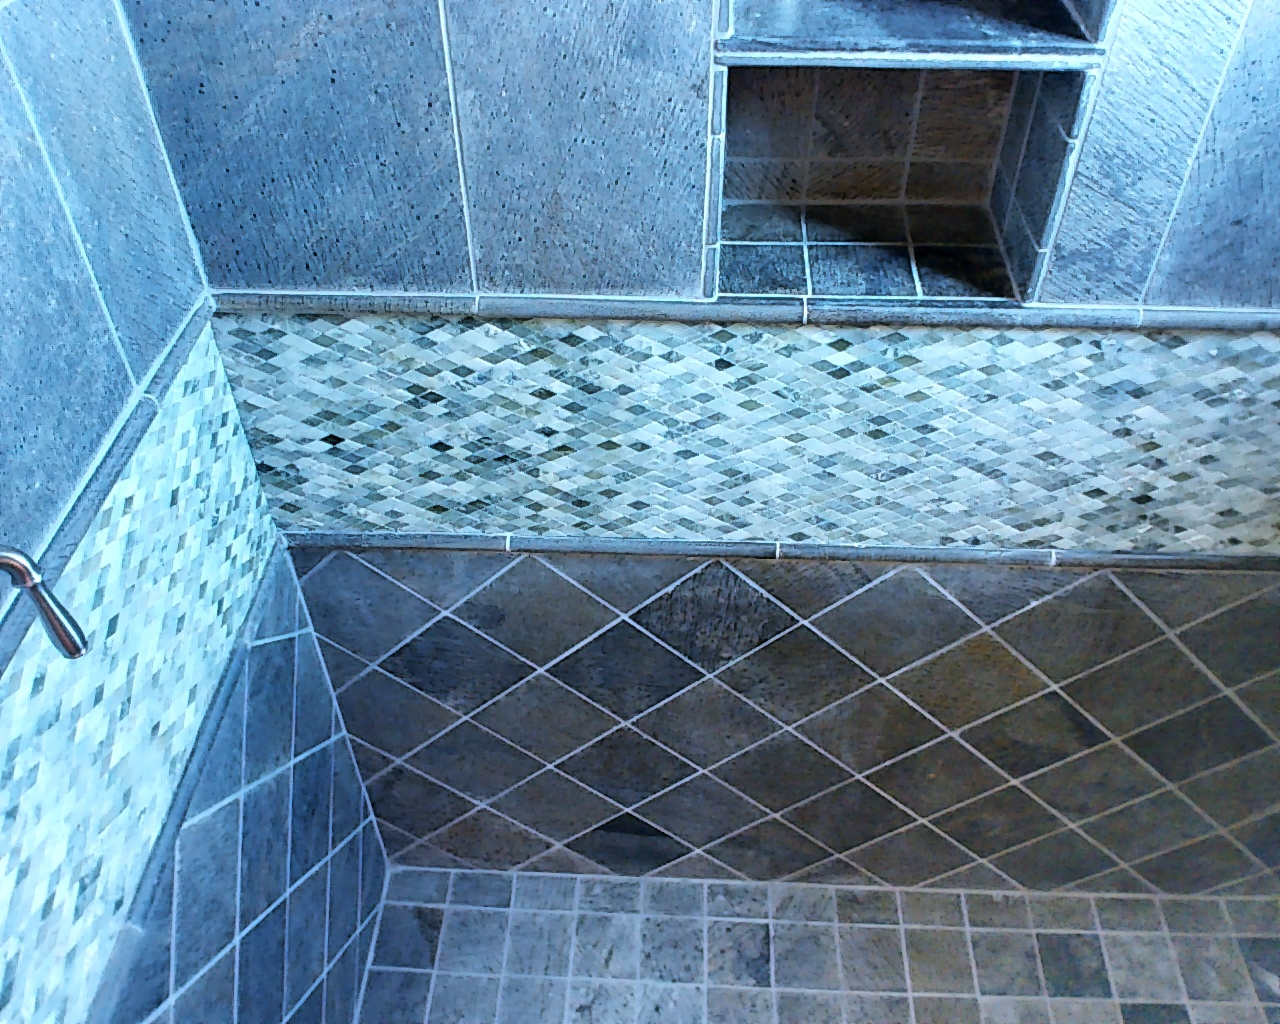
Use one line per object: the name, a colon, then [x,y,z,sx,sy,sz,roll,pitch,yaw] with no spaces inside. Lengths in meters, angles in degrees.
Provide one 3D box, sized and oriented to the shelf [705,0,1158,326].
shelf: [0.220,-0.470,0.830,0.320,0.630,0.200,2,43,3]
